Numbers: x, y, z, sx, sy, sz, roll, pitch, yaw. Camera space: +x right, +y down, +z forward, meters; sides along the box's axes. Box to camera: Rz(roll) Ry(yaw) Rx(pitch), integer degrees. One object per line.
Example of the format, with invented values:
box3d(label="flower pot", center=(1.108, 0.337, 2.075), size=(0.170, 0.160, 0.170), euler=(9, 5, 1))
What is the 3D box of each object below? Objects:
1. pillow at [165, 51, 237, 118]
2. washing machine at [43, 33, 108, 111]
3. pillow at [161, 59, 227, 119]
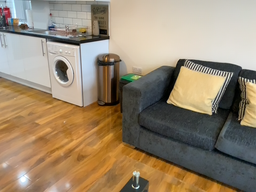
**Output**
box3d(label="pillow", center=(0.730, -0.100, 2.170), size=(0.520, 0.530, 0.140), euler=(-22, 4, 42))
box3d(label="washing machine", center=(-0.720, -0.390, 3.070), size=(0.610, 0.920, 0.620), euler=(16, 26, 29))
box3d(label="pillow", center=(0.630, -0.060, 2.050), size=(0.460, 0.410, 0.200), euler=(-22, 4, 35))
